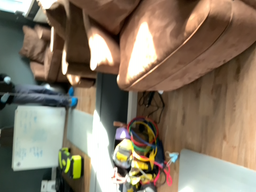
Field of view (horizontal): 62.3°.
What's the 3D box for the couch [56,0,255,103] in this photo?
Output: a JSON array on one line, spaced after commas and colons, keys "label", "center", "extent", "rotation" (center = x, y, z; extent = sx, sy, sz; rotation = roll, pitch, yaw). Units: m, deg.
[{"label": "couch", "center": [0.110, -0.570, 1.370], "extent": [0.970, 0.860, 0.930], "rotation": [-34, 59, 52]}]
